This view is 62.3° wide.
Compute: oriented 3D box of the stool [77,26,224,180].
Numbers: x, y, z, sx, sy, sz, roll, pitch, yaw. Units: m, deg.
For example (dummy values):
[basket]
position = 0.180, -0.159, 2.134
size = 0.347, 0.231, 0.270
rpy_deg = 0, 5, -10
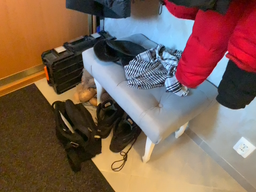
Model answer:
[stool]
position = 0.070, 0.010, 1.240
size = 0.430, 0.480, 0.640
rpy_deg = -27, 57, -29
